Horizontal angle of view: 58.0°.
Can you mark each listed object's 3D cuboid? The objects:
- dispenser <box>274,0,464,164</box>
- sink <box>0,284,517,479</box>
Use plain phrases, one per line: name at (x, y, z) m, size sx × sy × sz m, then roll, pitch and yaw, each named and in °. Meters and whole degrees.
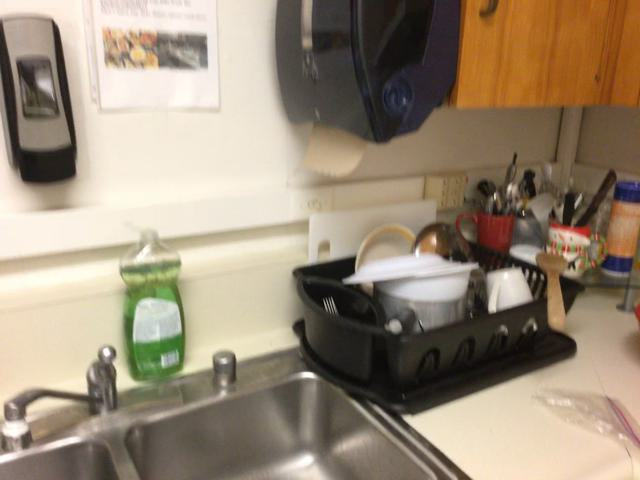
dispenser at (0.070, -0.360, 1.050) m, size 0.160 × 0.380 × 0.350 m, roll -9°, pitch 20°, yaw -31°
sink at (-0.250, 0.380, 0.820) m, size 0.830 × 0.330 × 0.570 m, roll -9°, pitch 20°, yaw -31°
